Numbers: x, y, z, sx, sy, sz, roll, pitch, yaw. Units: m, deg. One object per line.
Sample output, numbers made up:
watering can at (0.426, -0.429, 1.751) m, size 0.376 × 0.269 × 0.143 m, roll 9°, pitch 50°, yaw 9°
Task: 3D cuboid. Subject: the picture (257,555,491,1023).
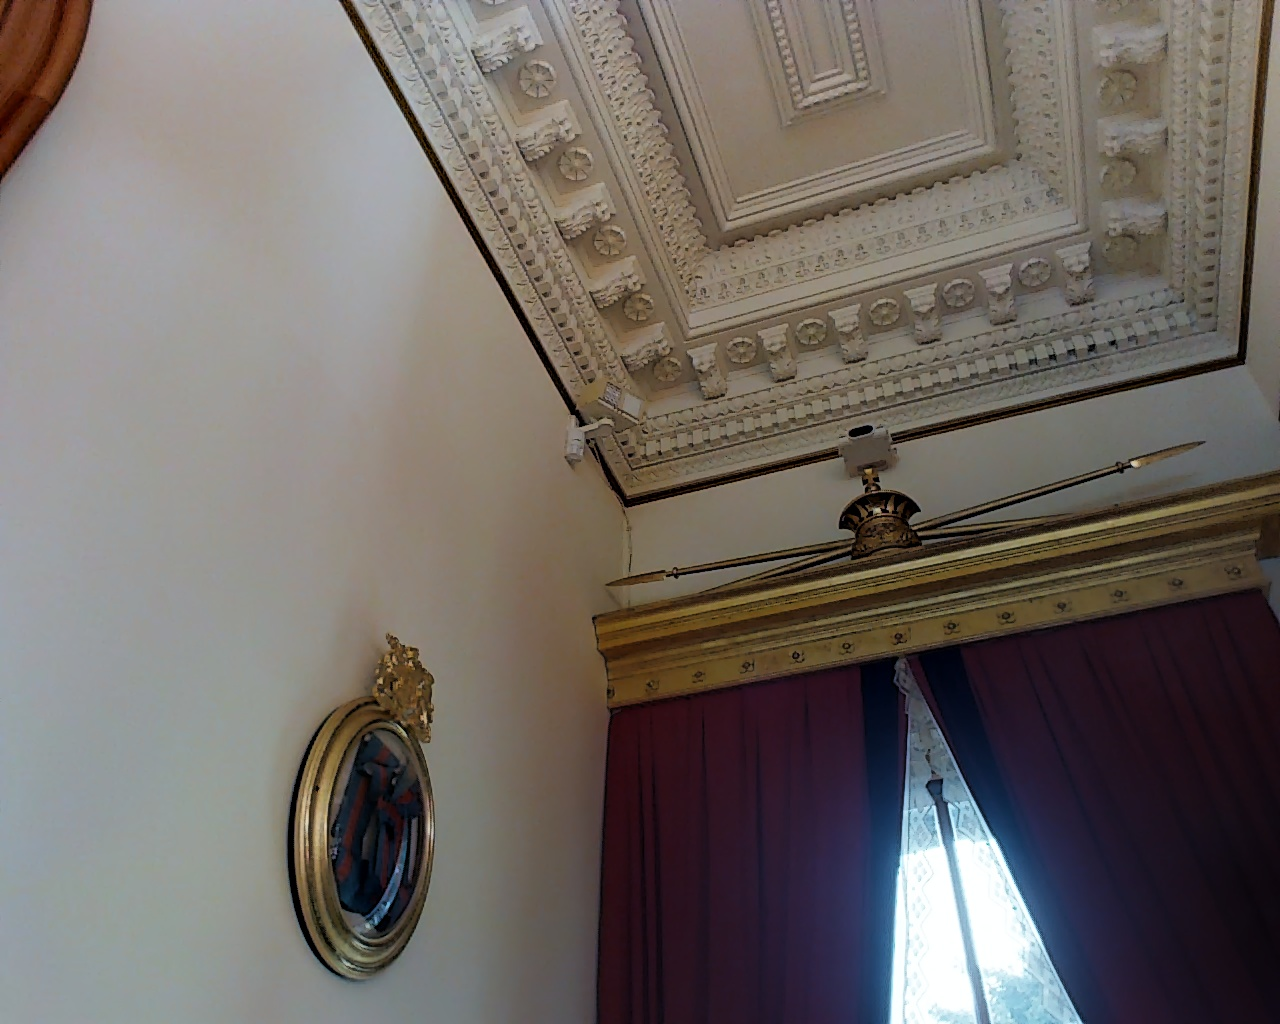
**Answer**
picture at (-0.510, 0.590, 2.270) m, size 0.070 × 0.840 × 0.560 m, roll -14°, pitch -43°, yaw 15°
